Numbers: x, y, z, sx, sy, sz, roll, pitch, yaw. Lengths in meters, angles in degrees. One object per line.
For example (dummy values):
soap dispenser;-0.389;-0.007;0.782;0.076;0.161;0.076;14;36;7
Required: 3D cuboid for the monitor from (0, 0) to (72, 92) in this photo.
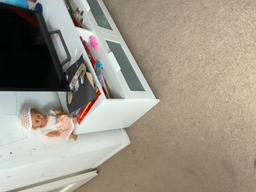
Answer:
monitor;-0.660;-0.340;1.310;0.050;0.440;0.720;-45;60;38
